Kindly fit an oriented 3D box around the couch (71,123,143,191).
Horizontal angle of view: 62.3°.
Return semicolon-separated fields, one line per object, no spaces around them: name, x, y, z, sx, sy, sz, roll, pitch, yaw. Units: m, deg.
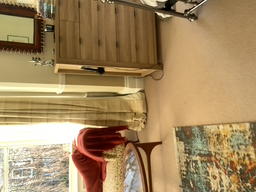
couch;-0.320;1.210;2.980;0.700;0.810;1.590;168;101;-64

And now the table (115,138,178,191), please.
table;0.190;1.180;2.380;0.690;0.400;1.310;169;100;-64
